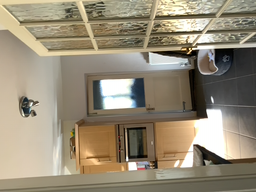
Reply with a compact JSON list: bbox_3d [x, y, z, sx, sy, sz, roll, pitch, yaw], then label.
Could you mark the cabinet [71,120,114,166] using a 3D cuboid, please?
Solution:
[{"bbox_3d":[-0.570,0.750,3.580,0.630,0.610,0.620,151,117,-87],"label":"cabinet"}]
